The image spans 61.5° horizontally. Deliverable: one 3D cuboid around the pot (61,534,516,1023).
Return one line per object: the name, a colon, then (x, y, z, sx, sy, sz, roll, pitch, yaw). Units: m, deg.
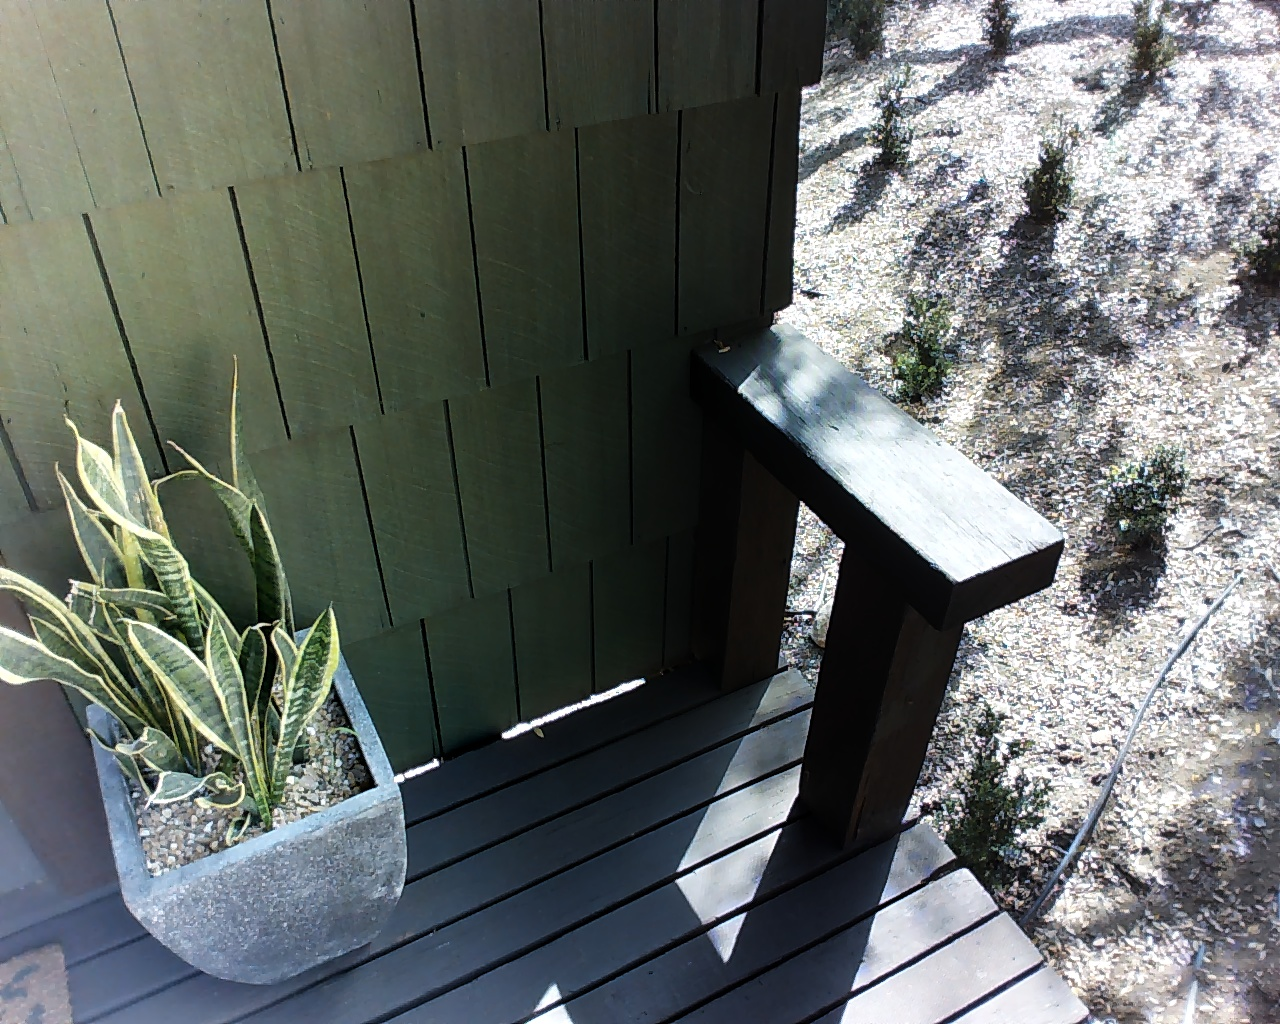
pot: (-0.490, 0.410, 1.580, 0.470, 0.510, 0.390, -18, 46, -21)
